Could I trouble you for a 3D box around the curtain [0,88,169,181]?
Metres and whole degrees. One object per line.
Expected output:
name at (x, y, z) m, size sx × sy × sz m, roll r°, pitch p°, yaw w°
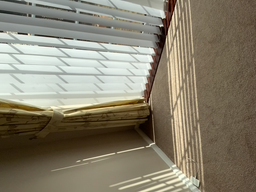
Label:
curtain at (-0.750, 0.300, 1.790) m, size 0.290 × 2.520 × 0.620 m, roll 37°, pitch 123°, yaw 50°
